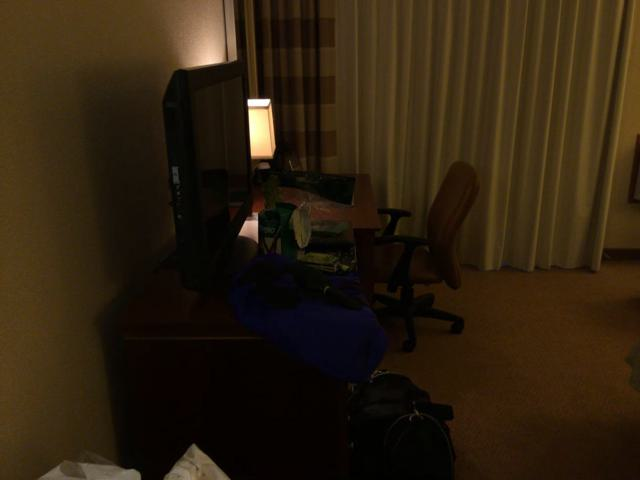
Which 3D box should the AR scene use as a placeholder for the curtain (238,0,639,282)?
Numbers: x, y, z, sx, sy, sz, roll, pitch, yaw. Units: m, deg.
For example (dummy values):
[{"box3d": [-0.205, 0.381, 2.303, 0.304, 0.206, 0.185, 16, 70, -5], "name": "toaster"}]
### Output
[{"box3d": [0.770, -0.930, 3.590, 2.400, 2.340, 0.420, -2, 19, 4], "name": "curtain"}]
